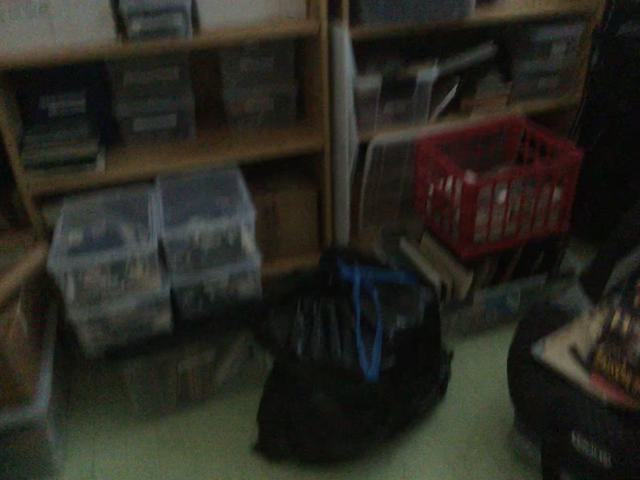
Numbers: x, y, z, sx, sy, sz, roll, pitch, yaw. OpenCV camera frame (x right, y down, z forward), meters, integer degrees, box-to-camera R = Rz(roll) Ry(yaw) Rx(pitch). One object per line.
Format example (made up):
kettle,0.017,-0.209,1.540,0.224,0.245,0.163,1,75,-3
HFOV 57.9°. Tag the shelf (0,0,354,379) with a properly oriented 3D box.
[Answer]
shelf,-0.470,-0.400,1.790,0.950,1.300,0.700,-12,34,-15
